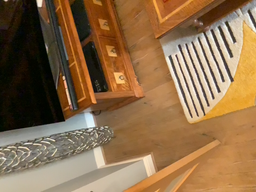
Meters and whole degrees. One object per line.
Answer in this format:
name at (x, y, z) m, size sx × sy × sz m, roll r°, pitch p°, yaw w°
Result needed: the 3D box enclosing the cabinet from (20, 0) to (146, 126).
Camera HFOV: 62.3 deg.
cabinet at (-0.440, -0.400, 1.950) m, size 0.700 × 0.630 × 1.140 m, roll -23°, pitch 78°, yaw 41°
